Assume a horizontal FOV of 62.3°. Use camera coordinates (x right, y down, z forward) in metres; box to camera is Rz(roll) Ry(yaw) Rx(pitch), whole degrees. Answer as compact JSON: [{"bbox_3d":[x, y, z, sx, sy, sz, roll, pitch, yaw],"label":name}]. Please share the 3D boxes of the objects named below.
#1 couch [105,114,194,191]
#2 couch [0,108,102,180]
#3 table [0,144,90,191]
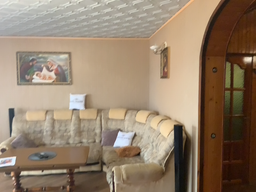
[{"bbox_3d":[0.210,0.890,3.150,1.060,1.050,1.190,0,4,-7],"label":"couch"},{"bbox_3d":[-1.440,0.830,4.140,1.860,1.030,1.140,0,4,-7],"label":"couch"},{"bbox_3d":[-1.200,1.120,3.010,1.280,0.630,0.720,0,4,-8],"label":"table"}]
